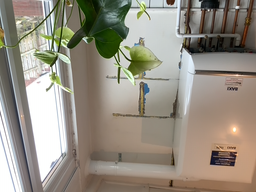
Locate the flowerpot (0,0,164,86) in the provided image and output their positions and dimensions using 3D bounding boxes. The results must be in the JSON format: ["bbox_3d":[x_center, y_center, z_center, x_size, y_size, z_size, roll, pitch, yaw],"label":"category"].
[{"bbox_3d":[-0.110,-0.330,0.620,0.430,0.490,0.350,4,-159,8],"label":"flowerpot"}]
